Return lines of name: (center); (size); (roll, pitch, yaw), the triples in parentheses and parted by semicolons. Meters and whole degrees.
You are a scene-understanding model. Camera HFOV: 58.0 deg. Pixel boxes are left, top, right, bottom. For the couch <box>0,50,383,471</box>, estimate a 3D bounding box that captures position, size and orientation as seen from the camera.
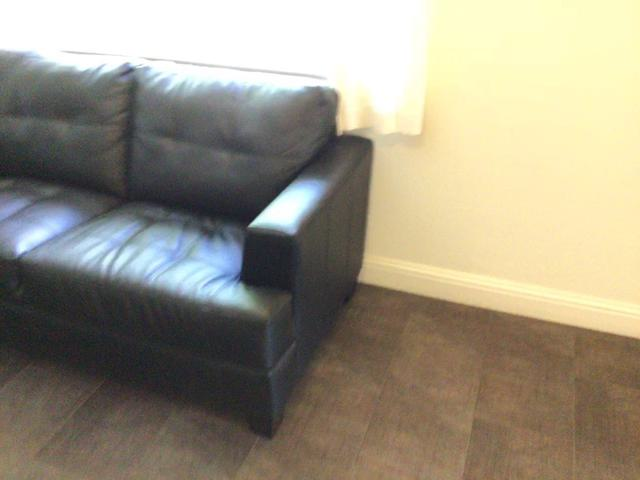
couch: (-0.760, -0.080, 2.060); (1.770, 0.990, 0.900); (7, 25, 14)
